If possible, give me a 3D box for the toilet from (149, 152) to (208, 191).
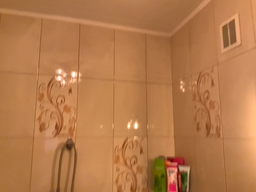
[{"bbox_3d":[0.320,0.520,1.400,0.280,0.260,0.270,3,-10,-18],"label":"toilet"}]
